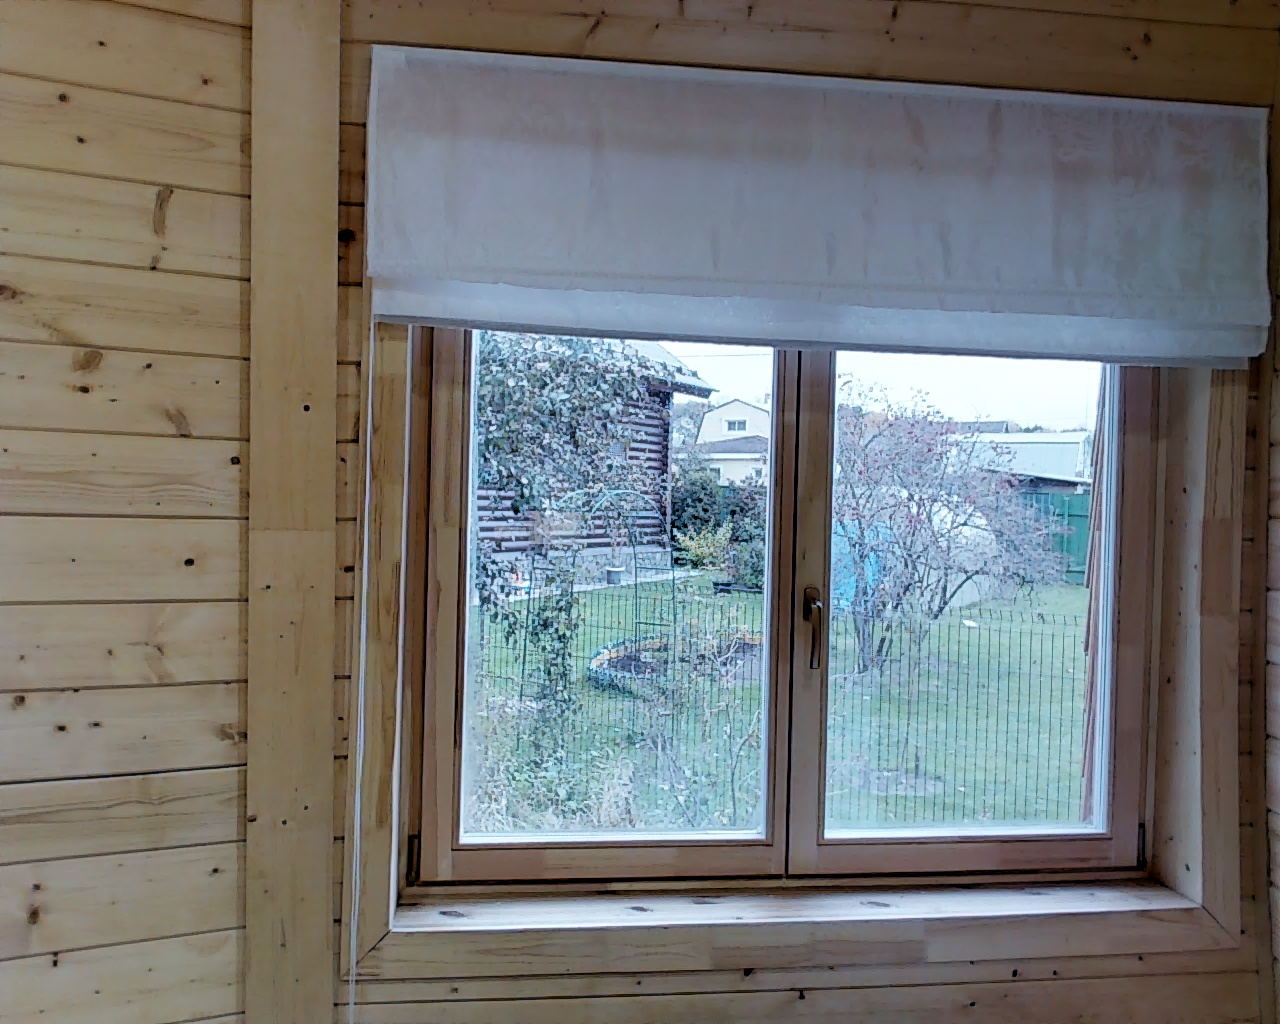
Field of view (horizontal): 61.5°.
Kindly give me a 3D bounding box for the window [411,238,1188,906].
[{"bbox_3d":[0.320,0.130,2.090,1.460,1.210,0.130,2,1,-6],"label":"window"}]
